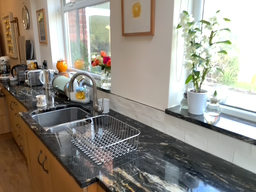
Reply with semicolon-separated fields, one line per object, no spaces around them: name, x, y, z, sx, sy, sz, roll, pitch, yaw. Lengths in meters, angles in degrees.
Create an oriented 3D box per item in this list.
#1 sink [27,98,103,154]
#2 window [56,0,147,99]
sink;-0.570;0.240;1.950;0.550;0.270;0.390;-12;20;-37
window;-0.430;-0.810;2.570;0.220;1.330;1.670;-11;20;-37
